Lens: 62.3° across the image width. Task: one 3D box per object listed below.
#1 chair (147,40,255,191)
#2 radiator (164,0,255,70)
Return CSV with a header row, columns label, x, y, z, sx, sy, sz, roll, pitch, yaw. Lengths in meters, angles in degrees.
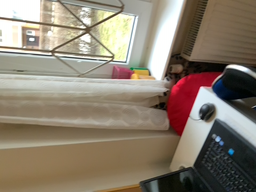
label,x,y,z,sx,sy,sz,roll,pitch,yaw
chair,0.670,0.190,0.880,0.580,0.910,0.580,-125,42,-53
radiator,0.630,-0.480,1.230,0.150,0.720,0.610,-128,44,-54
